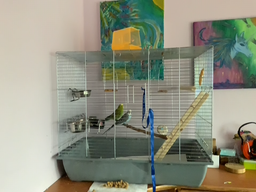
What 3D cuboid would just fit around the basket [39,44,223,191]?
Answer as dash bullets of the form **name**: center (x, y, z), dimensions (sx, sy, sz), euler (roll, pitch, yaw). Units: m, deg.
- **basket**: center (0.030, 0.110, 1.050), dimensions (0.710, 0.610, 0.460), euler (0, 3, 10)
